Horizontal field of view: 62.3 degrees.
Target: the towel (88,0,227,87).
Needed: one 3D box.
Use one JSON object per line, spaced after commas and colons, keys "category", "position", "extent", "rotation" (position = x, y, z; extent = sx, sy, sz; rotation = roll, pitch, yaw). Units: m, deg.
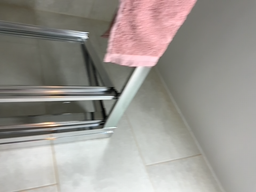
{"category": "towel", "position": [0.060, -0.170, 0.450], "extent": [0.350, 0.190, 0.100], "rotation": [-59, -137, 43]}
